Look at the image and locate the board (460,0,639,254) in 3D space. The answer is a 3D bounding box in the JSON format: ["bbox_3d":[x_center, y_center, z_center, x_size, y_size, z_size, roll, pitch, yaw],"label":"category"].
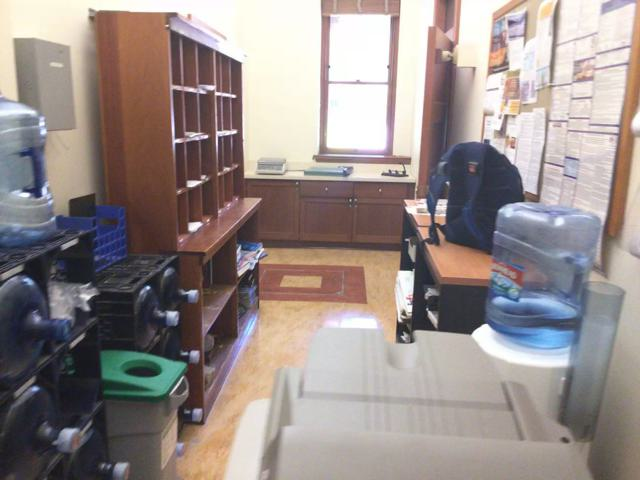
[{"bbox_3d":[0.850,-0.610,2.370,0.150,0.900,1.720,0,14,2],"label":"board"}]

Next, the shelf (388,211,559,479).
[{"bbox_3d":[0.570,0.510,2.500,0.440,1.080,1.030,0,14,2],"label":"shelf"}]

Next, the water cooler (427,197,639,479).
[{"bbox_3d":[0.580,0.580,1.680,0.450,1.350,0.420,0,14,2],"label":"water cooler"}]

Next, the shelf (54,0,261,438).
[{"bbox_3d":[-0.780,-0.240,3.510,0.520,2.020,1.880,0,14,2],"label":"shelf"}]
